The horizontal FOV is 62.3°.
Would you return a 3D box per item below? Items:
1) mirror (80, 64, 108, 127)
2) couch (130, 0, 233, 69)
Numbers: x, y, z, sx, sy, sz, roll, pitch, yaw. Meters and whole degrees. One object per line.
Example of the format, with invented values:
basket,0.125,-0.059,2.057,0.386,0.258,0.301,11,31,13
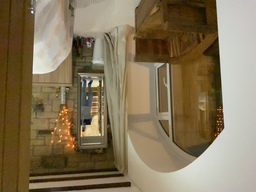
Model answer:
mirror,-0.610,-0.010,3.790,0.480,1.110,0.070,0,174,-12
couch,0.460,-0.810,2.310,0.640,0.790,1.070,0,174,-13
